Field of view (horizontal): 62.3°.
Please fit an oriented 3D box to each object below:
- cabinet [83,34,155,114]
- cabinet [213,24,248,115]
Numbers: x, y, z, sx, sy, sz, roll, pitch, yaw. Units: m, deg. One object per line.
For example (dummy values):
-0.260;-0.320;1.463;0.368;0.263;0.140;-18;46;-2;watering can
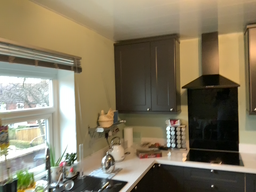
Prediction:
-0.120;-0.270;2.970;0.910;1.000;0.360;-1;1;17;cabinet
1.210;-0.290;2.540;0.320;1.000;0.370;-1;1;17;cabinet
